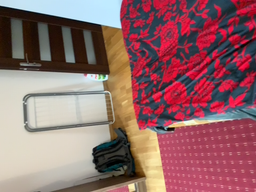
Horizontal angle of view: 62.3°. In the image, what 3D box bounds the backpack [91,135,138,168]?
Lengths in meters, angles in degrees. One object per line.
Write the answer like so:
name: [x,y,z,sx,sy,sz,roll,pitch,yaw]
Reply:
backpack: [-0.180,0.730,2.770,0.360,0.450,0.330,-28,68,53]
